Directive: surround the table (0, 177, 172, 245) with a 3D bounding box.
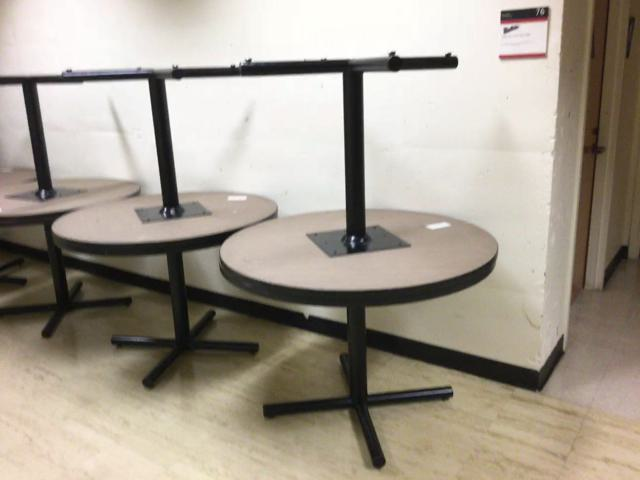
[{"bbox_3d":[-1.300,-0.180,3.040,0.530,0.100,0.870,8,21,34],"label":"table"}]

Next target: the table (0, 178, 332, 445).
[{"bbox_3d":[-0.750,0.210,2.900,1.160,0.770,1.110,8,21,34],"label":"table"}]

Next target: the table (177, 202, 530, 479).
[{"bbox_3d":[0.190,0.380,2.290,0.940,0.770,1.010,8,21,34],"label":"table"}]
